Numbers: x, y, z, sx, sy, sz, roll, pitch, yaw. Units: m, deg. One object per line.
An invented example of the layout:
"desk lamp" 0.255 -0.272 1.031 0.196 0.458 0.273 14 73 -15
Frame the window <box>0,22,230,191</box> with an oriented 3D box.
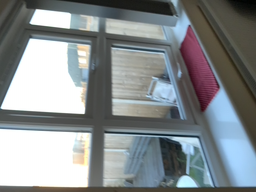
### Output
"window" -0.180 0.040 1.390 0.120 1.310 1.550 104 166 -46
